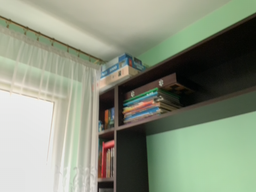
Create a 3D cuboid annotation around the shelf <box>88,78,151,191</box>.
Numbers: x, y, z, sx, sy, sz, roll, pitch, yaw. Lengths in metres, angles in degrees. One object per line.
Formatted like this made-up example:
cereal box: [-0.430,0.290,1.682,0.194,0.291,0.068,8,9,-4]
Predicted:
shelf: [-0.060,0.530,1.400,0.270,1.240,0.310,18,-29,-39]
